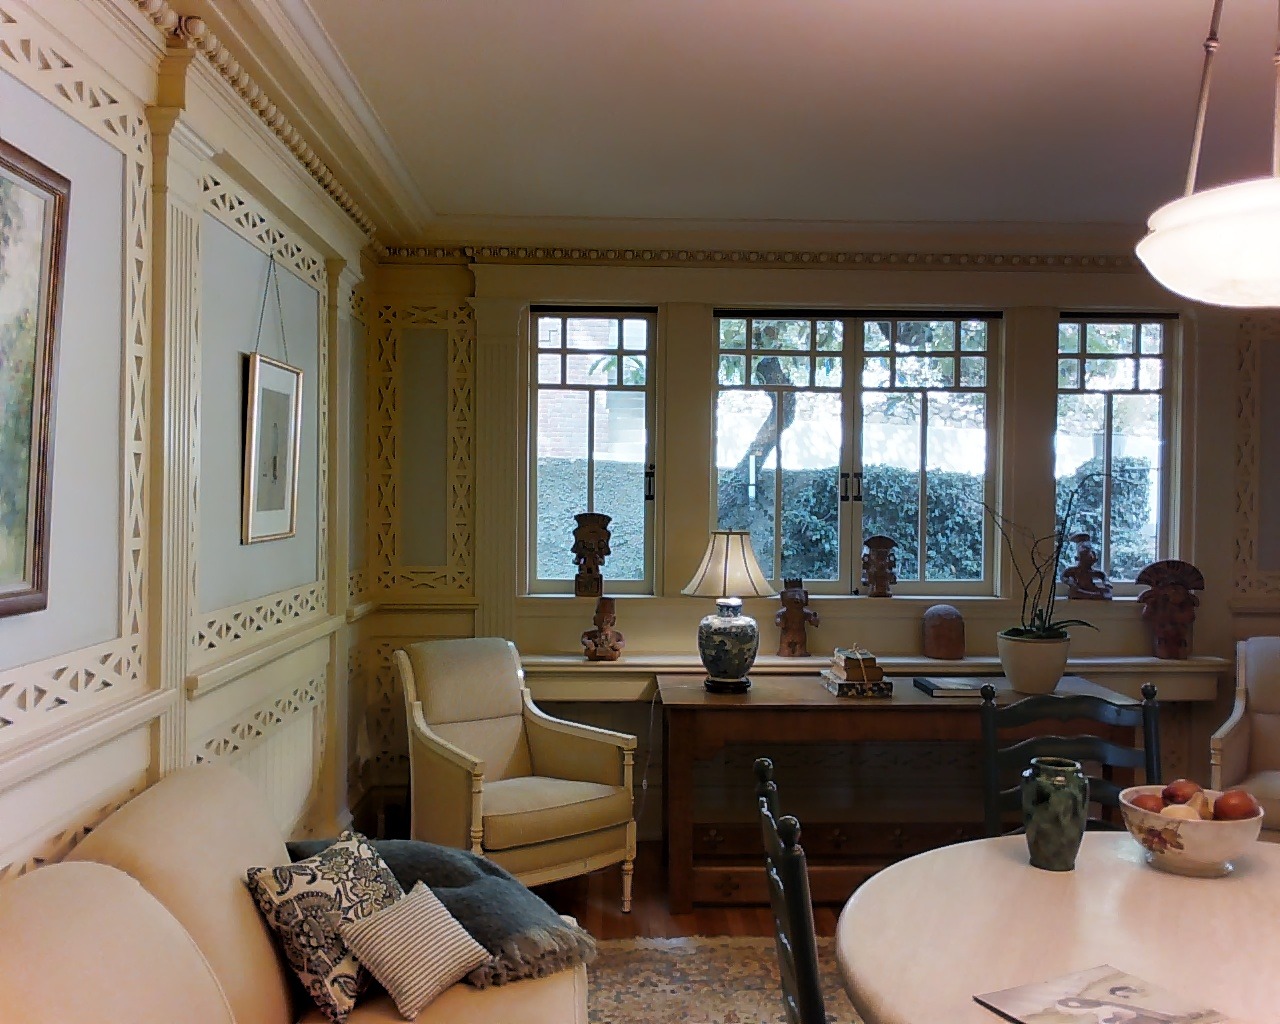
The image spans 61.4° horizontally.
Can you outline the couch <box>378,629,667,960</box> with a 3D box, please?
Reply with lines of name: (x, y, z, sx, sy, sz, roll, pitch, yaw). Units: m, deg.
couch: (-0.480, 1.010, 4.200, 0.780, 0.970, 0.910, 0, 1, -34)
